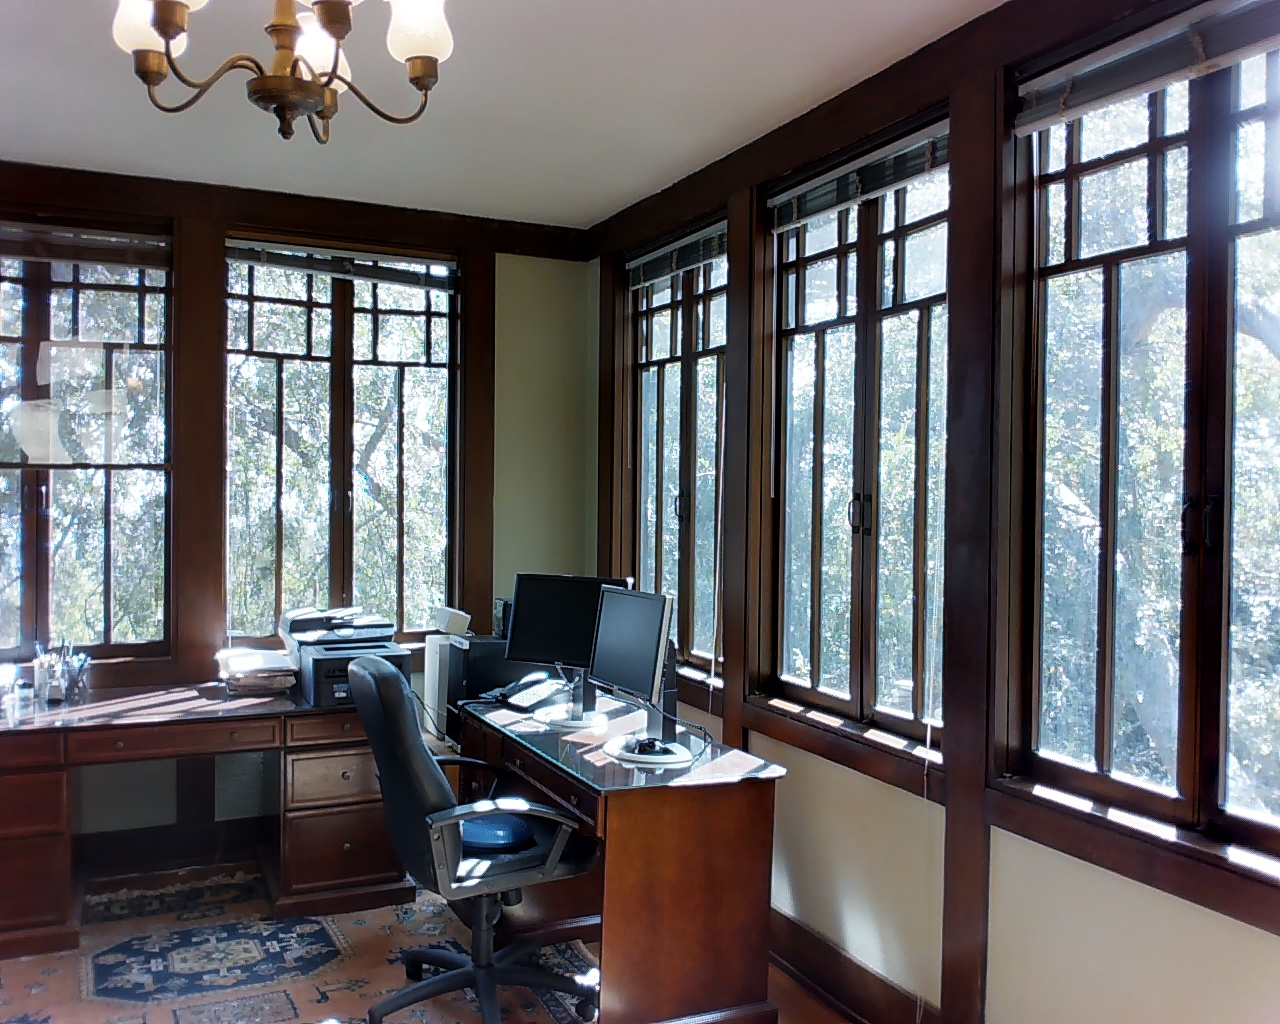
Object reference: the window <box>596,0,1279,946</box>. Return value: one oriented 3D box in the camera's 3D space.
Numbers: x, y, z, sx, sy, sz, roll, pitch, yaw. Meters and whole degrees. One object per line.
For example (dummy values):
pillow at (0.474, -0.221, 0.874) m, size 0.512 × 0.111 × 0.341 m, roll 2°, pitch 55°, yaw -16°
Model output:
window at (1.160, -0.220, 2.300) m, size 0.160 × 2.050 × 6.130 m, roll 0°, pitch 1°, yaw -25°

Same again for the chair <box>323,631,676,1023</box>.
chair at (-0.440, 0.960, 3.260) m, size 0.860 × 1.080 × 0.670 m, roll 0°, pitch 1°, yaw -29°
